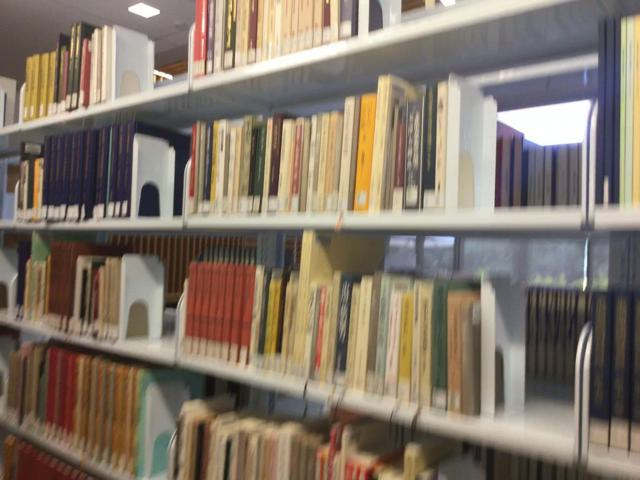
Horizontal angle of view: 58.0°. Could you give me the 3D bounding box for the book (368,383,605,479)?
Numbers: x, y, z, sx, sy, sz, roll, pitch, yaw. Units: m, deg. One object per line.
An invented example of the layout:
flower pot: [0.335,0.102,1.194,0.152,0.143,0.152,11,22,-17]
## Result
book: [0.360,0.500,1.340,0.530,0.240,0.070,1,-3,37]

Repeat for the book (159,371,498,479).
book: [-0.020,0.480,1.230,0.720,0.270,0.220,1,-3,37]

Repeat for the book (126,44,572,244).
book: [-0.030,-0.150,1.230,1.020,0.290,0.160,1,-3,37]

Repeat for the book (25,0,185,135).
book: [-0.650,-0.510,1.720,0.510,0.310,0.180,1,-3,37]

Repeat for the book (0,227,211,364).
book: [-0.680,0.140,1.750,0.730,0.340,0.240,1,-3,37]

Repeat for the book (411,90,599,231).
book: [0.440,-0.170,1.390,0.380,0.280,0.190,1,-3,37]

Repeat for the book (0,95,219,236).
book: [-0.670,-0.190,1.750,0.750,0.330,0.260,1,-3,37]

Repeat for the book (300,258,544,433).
book: [0.190,0.170,1.080,0.360,0.250,0.260,1,-3,37]

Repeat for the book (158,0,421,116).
book: [-0.090,-0.470,1.300,0.600,0.270,0.190,1,-3,37]

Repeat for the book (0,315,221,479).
book: [-0.740,0.460,1.760,1.010,0.360,0.210,1,-3,37]
